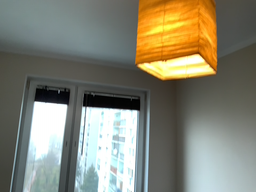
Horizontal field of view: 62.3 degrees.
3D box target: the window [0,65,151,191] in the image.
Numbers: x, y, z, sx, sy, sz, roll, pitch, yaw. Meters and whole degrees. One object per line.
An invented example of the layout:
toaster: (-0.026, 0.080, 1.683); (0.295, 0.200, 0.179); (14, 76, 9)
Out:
window: (-0.510, 0.570, 2.460); (1.570, 1.650, 0.140); (7, -10, -18)
